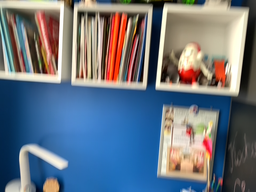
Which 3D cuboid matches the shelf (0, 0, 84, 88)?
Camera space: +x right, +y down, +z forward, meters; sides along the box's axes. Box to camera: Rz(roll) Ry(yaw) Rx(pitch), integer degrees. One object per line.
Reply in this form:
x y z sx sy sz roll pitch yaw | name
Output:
-0.470 -0.260 1.100 0.390 0.380 0.270 6 8 5 | shelf

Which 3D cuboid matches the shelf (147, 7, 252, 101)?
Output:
0.310 -0.190 1.030 0.400 0.370 0.250 5 4 5 | shelf

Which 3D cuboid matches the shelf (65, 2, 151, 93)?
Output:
-0.080 -0.220 1.050 0.340 0.370 0.280 5 4 8 | shelf
